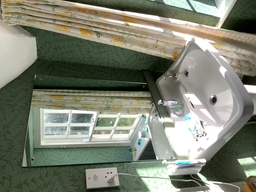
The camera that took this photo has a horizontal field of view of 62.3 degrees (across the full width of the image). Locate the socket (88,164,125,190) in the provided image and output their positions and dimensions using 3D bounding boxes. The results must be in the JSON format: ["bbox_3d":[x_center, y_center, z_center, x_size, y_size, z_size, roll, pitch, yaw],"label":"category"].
[{"bbox_3d":[-0.100,0.370,0.970,0.070,0.150,0.080,112,153,-42],"label":"socket"}]
